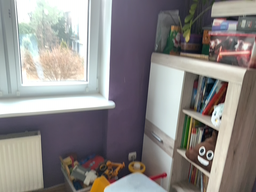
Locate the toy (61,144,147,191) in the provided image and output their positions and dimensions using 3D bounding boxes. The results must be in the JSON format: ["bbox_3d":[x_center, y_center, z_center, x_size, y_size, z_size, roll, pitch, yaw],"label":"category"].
[{"bbox_3d":[-0.220,0.710,1.910,0.680,0.310,0.340,-5,18,-27],"label":"toy"}]
